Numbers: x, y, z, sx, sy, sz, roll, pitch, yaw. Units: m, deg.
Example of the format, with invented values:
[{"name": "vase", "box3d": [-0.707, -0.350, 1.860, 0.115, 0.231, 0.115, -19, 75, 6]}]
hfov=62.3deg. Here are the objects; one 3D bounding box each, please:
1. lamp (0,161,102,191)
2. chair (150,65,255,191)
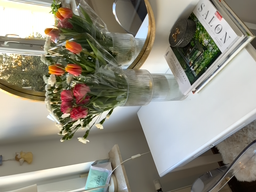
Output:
[{"name": "lamp", "box3d": [-0.430, 0.550, 1.200, 0.220, 0.500, 0.190, 28, 116, 58]}, {"name": "chair", "box3d": [0.610, 0.170, 1.060, 0.470, 0.790, 0.390, -61, 41, 44]}]
